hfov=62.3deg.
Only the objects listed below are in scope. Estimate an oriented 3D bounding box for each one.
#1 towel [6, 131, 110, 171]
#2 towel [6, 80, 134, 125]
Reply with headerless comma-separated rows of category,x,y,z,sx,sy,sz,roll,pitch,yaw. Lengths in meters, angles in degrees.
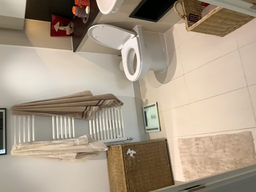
towel,-0.660,0.520,2.100,0.190,0.950,0.250,-25,69,59
towel,-0.560,0.060,2.260,0.190,1.280,0.380,-28,66,58
